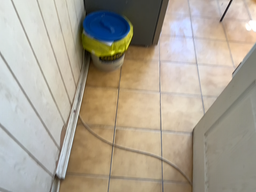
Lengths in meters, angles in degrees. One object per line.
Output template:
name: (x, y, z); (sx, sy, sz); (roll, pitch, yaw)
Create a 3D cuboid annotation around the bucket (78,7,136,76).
bucket: (-0.140, -0.390, 1.550); (0.340, 0.340, 0.300); (7, 58, 0)
